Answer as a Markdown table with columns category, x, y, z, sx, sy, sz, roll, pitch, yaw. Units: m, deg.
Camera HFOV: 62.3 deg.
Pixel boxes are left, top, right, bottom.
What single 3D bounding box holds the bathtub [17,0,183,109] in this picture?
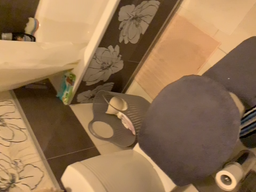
| category | x | y | z | sx | sy | sz | roll | pitch | yaw |
| --- | --- | --- | --- | --- | --- | --- | --- | --- | --- |
| bathtub | 0.000 | -0.910 | 1.260 | 0.740 | 0.540 | 1.960 | 48 | 120 | 28 |

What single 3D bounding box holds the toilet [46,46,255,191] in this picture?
| category | x | y | z | sx | sy | sz | roll | pitch | yaw |
| --- | --- | --- | --- | --- | --- | --- | --- | --- | --- |
| toilet | 0.180 | 0.230 | 0.980 | 0.420 | 0.780 | 0.670 | 48 | 120 | 28 |
